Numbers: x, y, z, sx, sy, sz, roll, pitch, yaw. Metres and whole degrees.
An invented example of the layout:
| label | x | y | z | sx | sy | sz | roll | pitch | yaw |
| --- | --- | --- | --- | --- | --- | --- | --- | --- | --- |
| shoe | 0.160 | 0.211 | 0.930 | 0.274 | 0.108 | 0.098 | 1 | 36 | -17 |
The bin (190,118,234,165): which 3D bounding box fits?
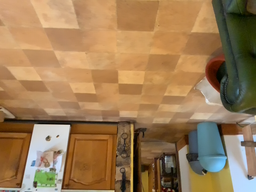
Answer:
| label | x | y | z | sx | sy | sz | roll | pitch | yaw |
| --- | --- | --- | --- | --- | --- | --- | --- | --- | --- |
| bin | 1.190 | 0.670 | 3.080 | 0.410 | 0.600 | 0.370 | 2 | 155 | -3 |
